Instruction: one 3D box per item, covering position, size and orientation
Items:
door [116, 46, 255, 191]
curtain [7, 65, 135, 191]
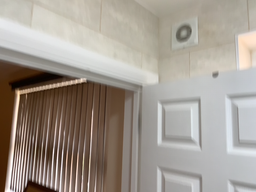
[{"bbox_3d":[0.180,0.870,0.880,0.020,2.040,0.800,9,-11,-38],"label":"door"},{"bbox_3d":[-0.730,0.540,2.010,2.060,1.340,0.040,-6,-12,44],"label":"curtain"}]
